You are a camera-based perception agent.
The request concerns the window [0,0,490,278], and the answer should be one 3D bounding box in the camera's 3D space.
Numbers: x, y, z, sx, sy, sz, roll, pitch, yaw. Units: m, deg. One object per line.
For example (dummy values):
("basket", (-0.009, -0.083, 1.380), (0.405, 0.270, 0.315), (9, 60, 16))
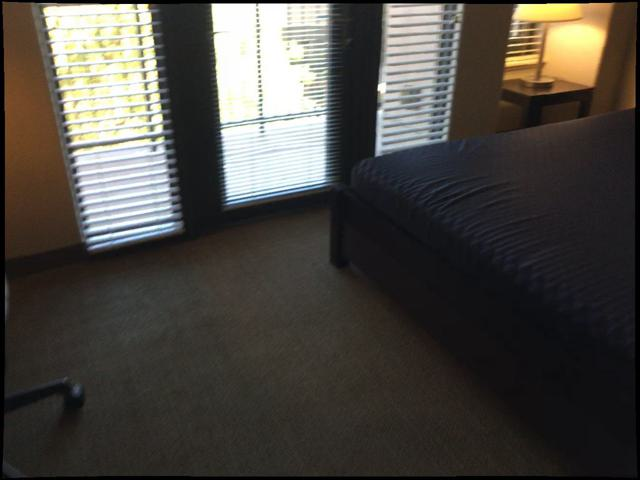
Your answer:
("window", (-0.199, -1.364, 2.360), (2.196, 2.746, 0.330), (-14, 31, -24))
